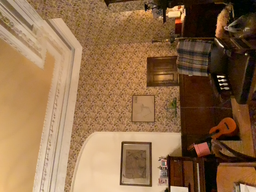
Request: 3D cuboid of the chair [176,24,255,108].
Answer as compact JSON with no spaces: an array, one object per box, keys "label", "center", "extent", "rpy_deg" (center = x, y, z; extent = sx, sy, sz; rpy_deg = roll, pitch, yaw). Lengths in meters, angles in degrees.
[{"label":"chair","center":[1.160,-0.390,2.700],"extent":[0.820,1.050,0.710],"rpy_deg":[-77,-17,-51]}]
